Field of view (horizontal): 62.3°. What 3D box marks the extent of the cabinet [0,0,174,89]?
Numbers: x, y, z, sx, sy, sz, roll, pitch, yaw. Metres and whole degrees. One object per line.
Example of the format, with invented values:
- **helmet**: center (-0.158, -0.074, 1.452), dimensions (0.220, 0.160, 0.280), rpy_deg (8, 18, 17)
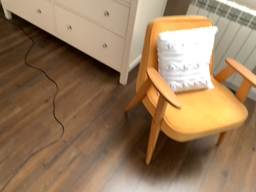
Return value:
- **cabinet**: center (-0.440, -0.940, 1.840), dimensions (1.530, 0.970, 0.660), rpy_deg (31, 50, 16)
